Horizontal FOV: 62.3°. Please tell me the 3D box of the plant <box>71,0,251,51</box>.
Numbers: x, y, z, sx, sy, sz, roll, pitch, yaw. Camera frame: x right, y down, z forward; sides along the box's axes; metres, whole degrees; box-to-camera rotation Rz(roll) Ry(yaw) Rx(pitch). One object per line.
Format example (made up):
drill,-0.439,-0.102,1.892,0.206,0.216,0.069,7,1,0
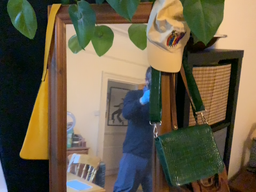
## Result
plant,0.130,-0.470,1.030,0.590,0.440,0.640,-11,19,-36
